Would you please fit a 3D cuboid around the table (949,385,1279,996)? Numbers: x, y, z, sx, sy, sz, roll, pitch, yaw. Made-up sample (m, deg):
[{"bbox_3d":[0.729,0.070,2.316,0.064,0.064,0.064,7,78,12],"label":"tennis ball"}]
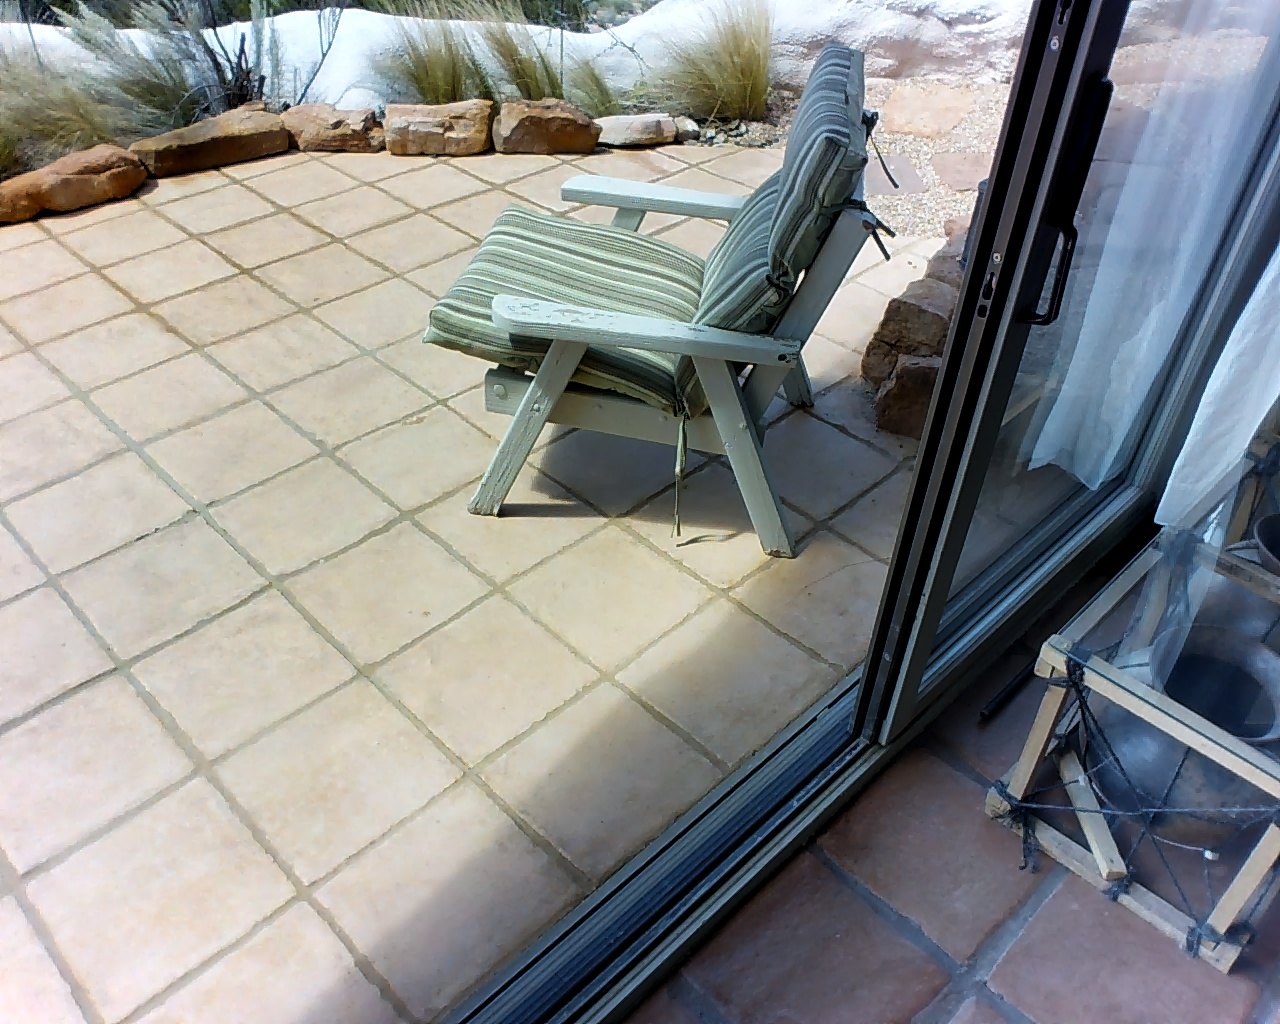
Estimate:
[{"bbox_3d":[0.980,0.220,1.720,0.890,0.390,0.450,-32,51,-33],"label":"table"}]
